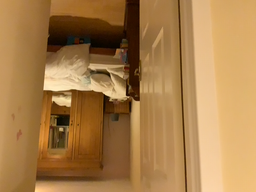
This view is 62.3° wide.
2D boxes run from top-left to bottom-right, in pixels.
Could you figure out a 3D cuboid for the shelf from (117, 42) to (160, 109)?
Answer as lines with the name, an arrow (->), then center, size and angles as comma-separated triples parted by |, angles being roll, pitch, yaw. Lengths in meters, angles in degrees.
shelf -> 0.090, -0.190, 2.470 | 0.390, 0.590, 0.750 | 1, 170, -5
